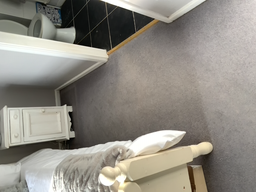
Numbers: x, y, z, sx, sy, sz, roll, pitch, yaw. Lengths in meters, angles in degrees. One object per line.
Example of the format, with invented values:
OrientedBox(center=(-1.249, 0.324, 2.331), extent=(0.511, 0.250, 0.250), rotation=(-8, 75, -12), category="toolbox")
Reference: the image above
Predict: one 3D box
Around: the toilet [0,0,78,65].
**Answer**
OrientedBox(center=(-1.090, -0.720, 2.460), extent=(0.670, 0.730, 0.460), rotation=(-18, 76, 48), category="toilet")
